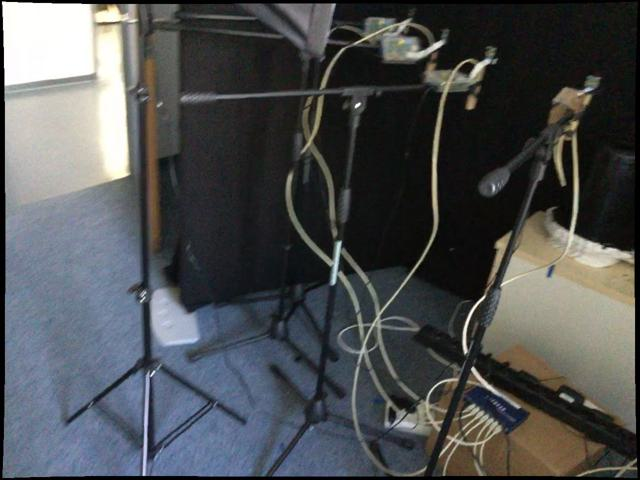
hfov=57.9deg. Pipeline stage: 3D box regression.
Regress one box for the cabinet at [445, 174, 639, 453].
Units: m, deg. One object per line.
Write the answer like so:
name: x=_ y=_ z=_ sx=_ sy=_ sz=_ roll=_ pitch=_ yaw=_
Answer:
cabinet: x=1.039 y=0.250 z=2.160 sx=0.880 sy=0.610 sz=0.500 roll=29 pitch=37 yaw=31

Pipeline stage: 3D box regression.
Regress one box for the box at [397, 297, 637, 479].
box: x=0.599 y=0.531 z=1.790 sx=0.470 sy=0.370 sz=0.490 roll=28 pitch=37 yaw=31
